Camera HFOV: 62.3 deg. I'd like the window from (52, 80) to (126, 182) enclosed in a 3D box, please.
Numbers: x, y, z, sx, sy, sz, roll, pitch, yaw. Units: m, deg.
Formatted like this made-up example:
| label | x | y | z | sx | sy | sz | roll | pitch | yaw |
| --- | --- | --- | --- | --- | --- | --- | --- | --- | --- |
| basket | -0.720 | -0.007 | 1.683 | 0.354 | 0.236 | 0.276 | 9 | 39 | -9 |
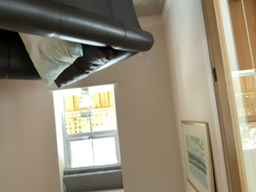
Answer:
| label | x | y | z | sx | sy | sz | roll | pitch | yaw |
| --- | --- | --- | --- | --- | --- | --- | --- | --- | --- |
| window | -0.500 | 0.450 | 2.840 | 0.820 | 1.200 | 0.350 | -6 | 175 | 3 |
